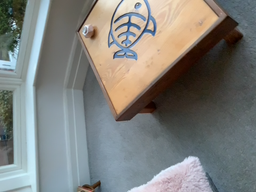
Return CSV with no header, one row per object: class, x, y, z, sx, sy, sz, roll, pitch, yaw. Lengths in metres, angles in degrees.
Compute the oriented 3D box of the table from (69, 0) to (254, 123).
table,0.090,-0.420,1.340,0.830,0.340,0.850,-44,60,33
